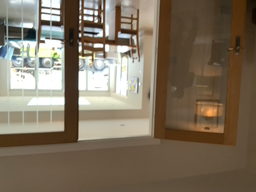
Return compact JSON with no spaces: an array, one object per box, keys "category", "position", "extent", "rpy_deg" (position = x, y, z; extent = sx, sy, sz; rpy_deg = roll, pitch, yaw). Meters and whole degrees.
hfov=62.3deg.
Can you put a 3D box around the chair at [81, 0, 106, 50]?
[{"category":"chair","position":[-0.620,-1.310,3.900],"extent":[0.400,0.830,0.520],"rpy_deg":[2,-175,-5]}]

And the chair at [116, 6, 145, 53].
[{"category":"chair","position":[0.040,-1.330,4.320],"extent":[0.520,0.830,0.400],"rpy_deg":[2,-175,-2]}]

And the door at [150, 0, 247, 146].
[{"category":"door","position":[0.720,-0.520,2.240],"extent":[0.860,2.010,0.160],"rpy_deg":[3,-175,10]}]
